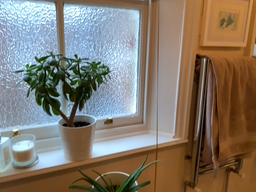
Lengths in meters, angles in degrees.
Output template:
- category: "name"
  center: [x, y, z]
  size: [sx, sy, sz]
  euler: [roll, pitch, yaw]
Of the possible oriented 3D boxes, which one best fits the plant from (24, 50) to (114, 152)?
- category: "plant"
  center: [-0.250, 0.000, 0.940]
  size: [0.340, 0.390, 0.160]
  euler: [-6, 16, -27]
